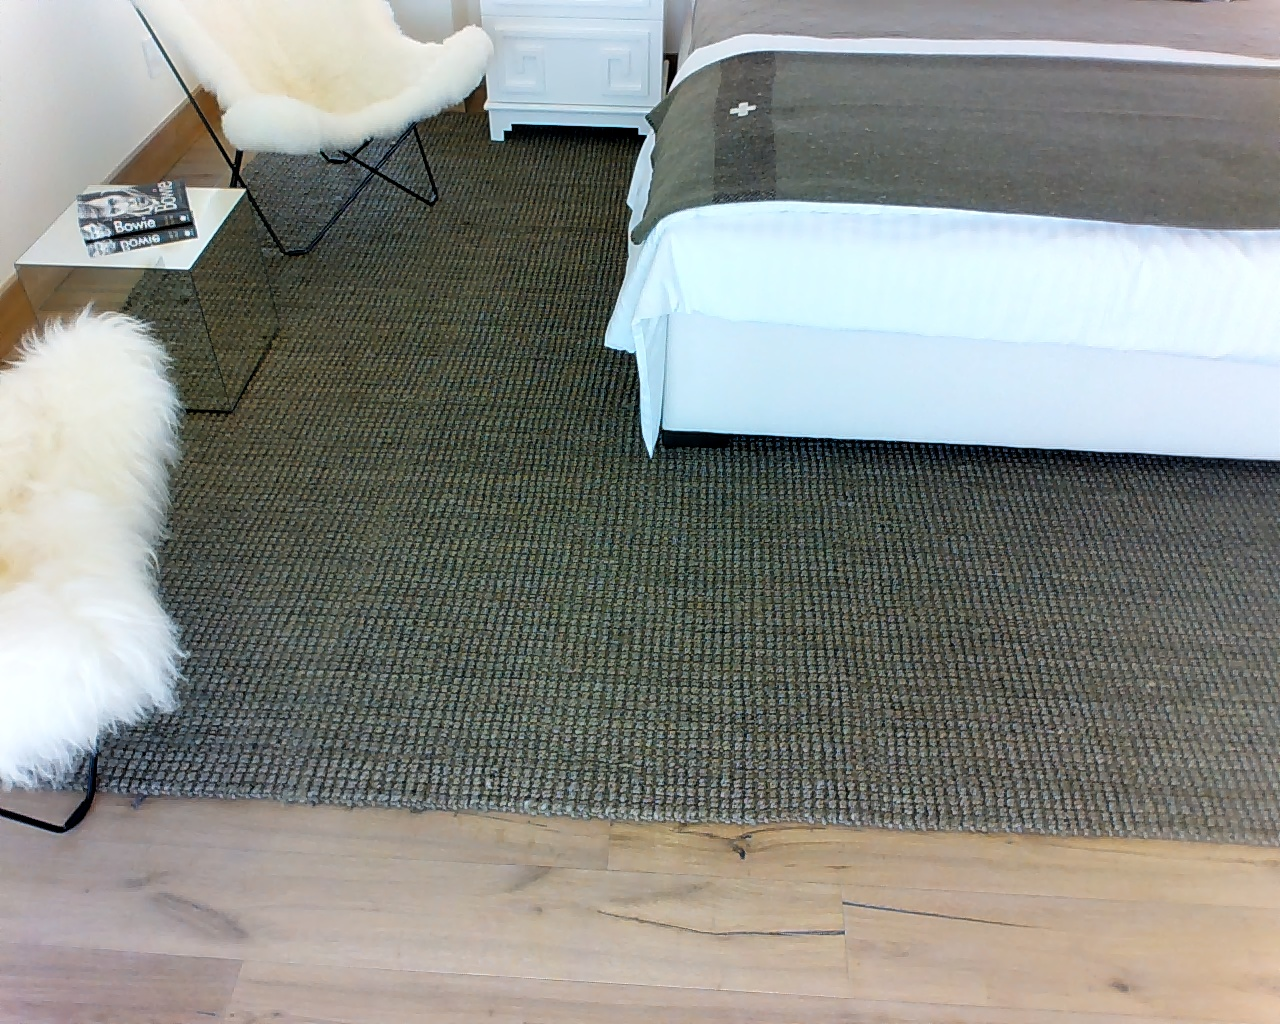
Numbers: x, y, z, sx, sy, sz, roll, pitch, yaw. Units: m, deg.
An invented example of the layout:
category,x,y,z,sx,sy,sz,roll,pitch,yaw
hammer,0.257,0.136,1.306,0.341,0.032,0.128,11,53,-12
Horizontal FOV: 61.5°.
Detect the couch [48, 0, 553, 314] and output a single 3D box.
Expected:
category,x,y,z,sx,sy,sz,roll,pitch,yaw
couch,-1.000,-1.410,3.200,1.040,1.010,1.000,33,51,30
